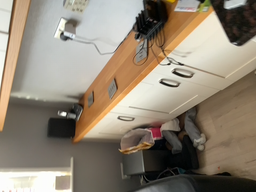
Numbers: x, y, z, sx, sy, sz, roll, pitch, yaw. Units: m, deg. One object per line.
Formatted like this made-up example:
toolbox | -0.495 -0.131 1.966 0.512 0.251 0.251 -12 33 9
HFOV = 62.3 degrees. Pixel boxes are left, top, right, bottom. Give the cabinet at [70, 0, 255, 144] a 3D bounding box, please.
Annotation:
cabinet | 0.220 -0.070 1.560 1.610 0.780 0.340 -43 48 46
